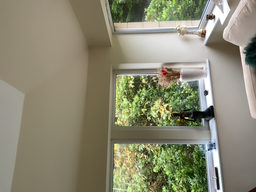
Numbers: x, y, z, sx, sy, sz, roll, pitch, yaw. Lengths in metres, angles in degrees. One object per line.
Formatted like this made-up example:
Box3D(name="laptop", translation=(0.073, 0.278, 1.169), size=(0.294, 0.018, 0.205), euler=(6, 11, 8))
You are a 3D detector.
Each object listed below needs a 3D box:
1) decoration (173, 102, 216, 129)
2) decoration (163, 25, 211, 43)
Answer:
Box3D(name="decoration", translation=(0.820, 0.250, 2.680), size=(0.270, 0.450, 0.270), euler=(83, -173, -67))
Box3D(name="decoration", translation=(0.780, -0.840, 2.870), size=(0.190, 0.580, 0.180), euler=(-85, -5, -58))
